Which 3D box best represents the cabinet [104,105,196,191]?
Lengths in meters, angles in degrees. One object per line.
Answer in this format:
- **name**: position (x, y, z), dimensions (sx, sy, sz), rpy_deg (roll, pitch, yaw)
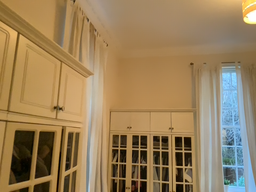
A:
- **cabinet**: position (0.400, 1.300, 3.890), dimensions (1.540, 2.190, 0.570), rpy_deg (-1, -10, 11)
